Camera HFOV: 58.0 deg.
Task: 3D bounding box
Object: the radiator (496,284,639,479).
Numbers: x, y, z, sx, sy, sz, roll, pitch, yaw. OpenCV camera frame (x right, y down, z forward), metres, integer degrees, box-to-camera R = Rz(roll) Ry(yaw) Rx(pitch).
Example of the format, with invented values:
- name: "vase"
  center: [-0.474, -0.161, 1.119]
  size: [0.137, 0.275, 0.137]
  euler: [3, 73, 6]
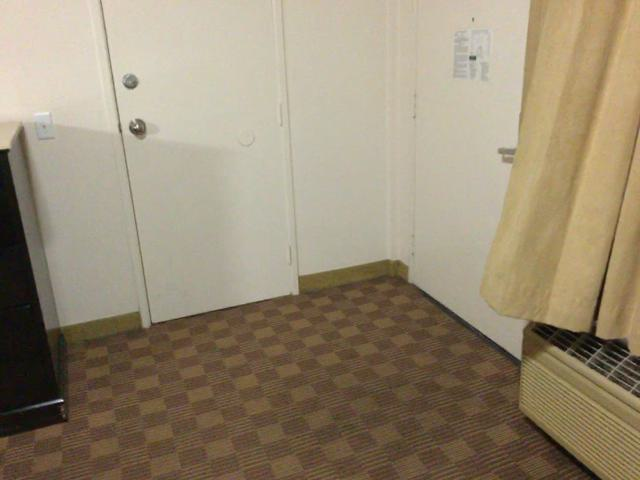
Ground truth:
- name: "radiator"
  center: [0.930, 0.550, 1.560]
  size: [0.190, 0.510, 1.070]
  euler: [-8, 19, -22]
